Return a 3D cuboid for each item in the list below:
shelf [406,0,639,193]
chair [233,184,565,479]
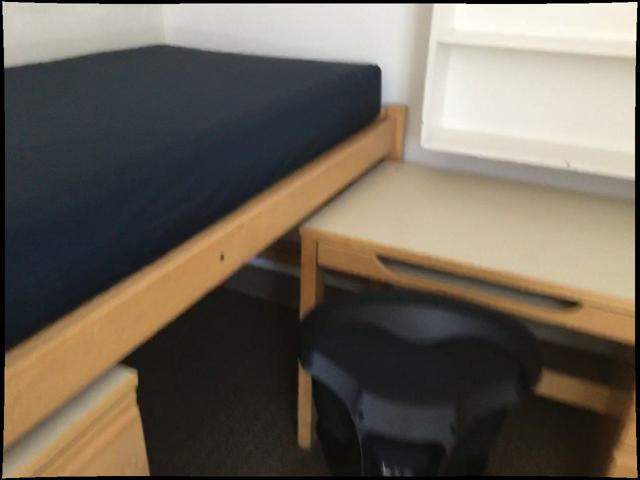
[{"bbox_3d":[0.788,-0.582,1.530,1.028,0.842,0.230,14,29,24],"label":"shelf"},{"bbox_3d":[0.180,0.391,1.400,0.569,0.862,0.460,13,29,24],"label":"chair"}]
